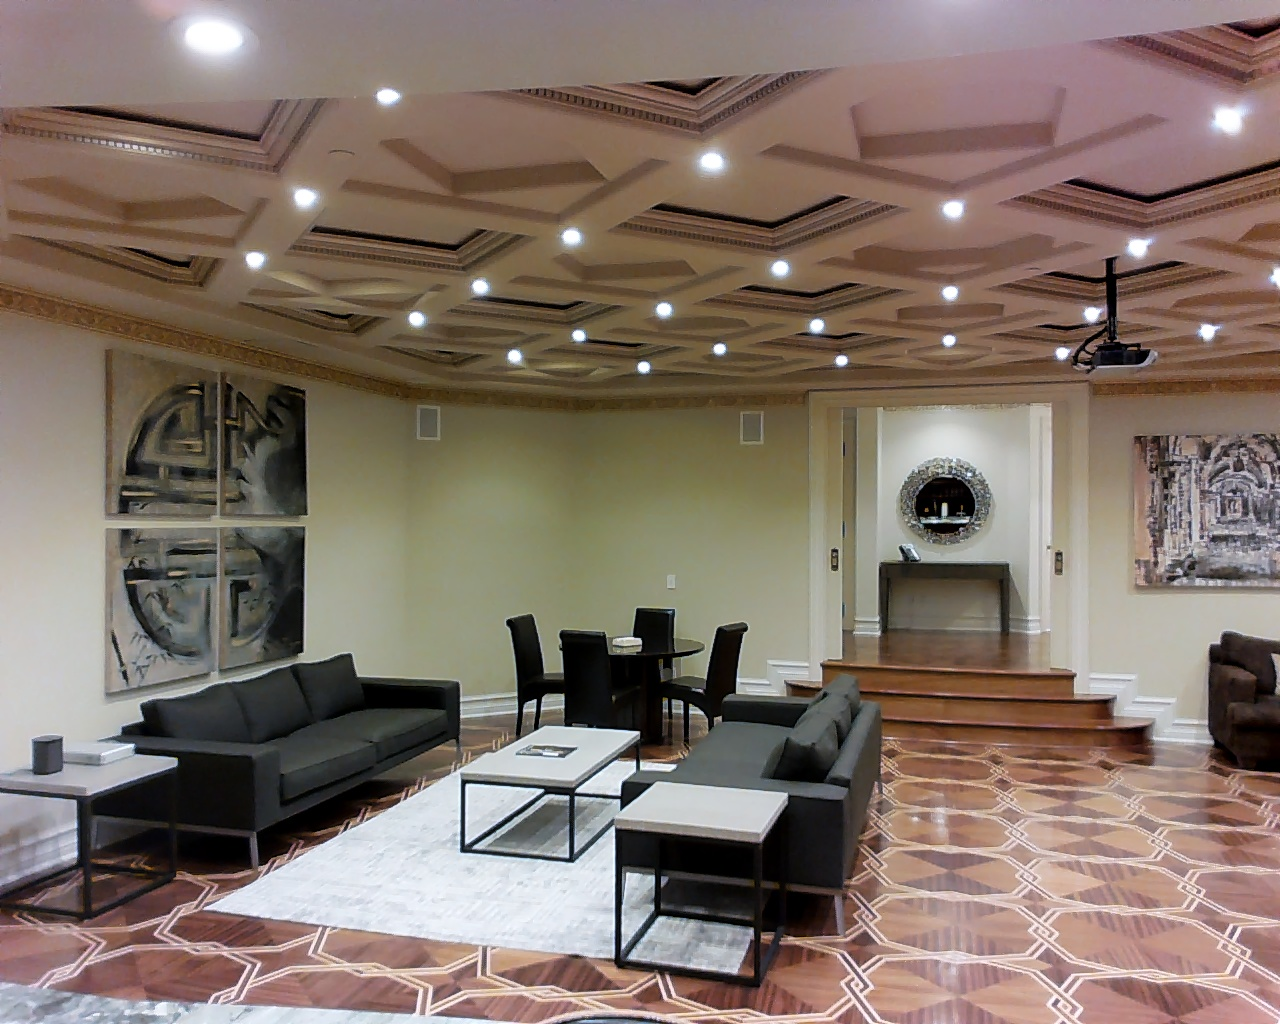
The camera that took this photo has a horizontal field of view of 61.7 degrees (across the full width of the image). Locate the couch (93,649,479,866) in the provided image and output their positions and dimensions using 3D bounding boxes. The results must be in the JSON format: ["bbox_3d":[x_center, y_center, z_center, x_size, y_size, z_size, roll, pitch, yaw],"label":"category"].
[{"bbox_3d":[-2.099,1.450,6.950,1.100,0.790,2.590,0,-1,16],"label":"couch"}]

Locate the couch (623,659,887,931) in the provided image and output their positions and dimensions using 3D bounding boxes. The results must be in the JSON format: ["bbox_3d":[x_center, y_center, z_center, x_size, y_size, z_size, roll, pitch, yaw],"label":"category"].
[{"bbox_3d":[0.780,1.430,6.070,1.070,0.850,2.500,0,-1,16],"label":"couch"}]
